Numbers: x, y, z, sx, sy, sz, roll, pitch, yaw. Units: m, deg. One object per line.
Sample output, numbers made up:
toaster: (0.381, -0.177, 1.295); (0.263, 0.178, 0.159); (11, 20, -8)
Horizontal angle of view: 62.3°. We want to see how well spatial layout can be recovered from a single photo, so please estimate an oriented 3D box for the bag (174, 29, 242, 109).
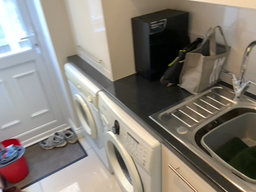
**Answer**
bag: (0.420, -0.150, 1.150); (0.280, 0.330, 0.160); (-20, 36, -22)
